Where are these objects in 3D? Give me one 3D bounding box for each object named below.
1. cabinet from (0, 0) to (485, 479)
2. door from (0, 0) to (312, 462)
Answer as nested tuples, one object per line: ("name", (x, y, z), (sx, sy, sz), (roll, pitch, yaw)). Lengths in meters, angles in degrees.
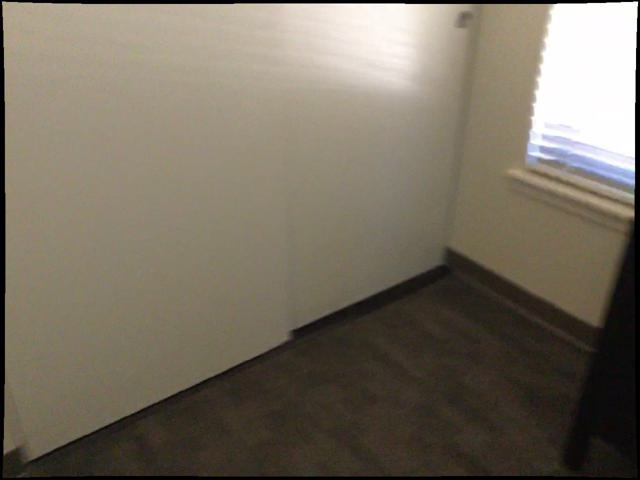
("cabinet", (-0.230, -0.220, 1.720), (1.919, 1.421, 0.150), (-22, 36, -32))
("door", (-0.450, -0.130, 1.590), (0.949, 1.391, 0.110), (-20, 35, -31))
